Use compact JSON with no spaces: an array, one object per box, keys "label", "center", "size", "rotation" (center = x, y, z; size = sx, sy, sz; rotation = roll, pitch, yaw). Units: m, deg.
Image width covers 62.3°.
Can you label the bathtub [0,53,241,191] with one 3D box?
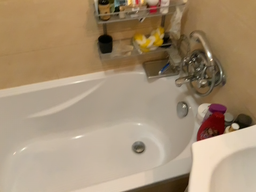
[{"label":"bathtub","center":[-0.310,0.310,1.180],"size":[1.400,0.570,0.710],"rotation":[-11,49,-10]}]
